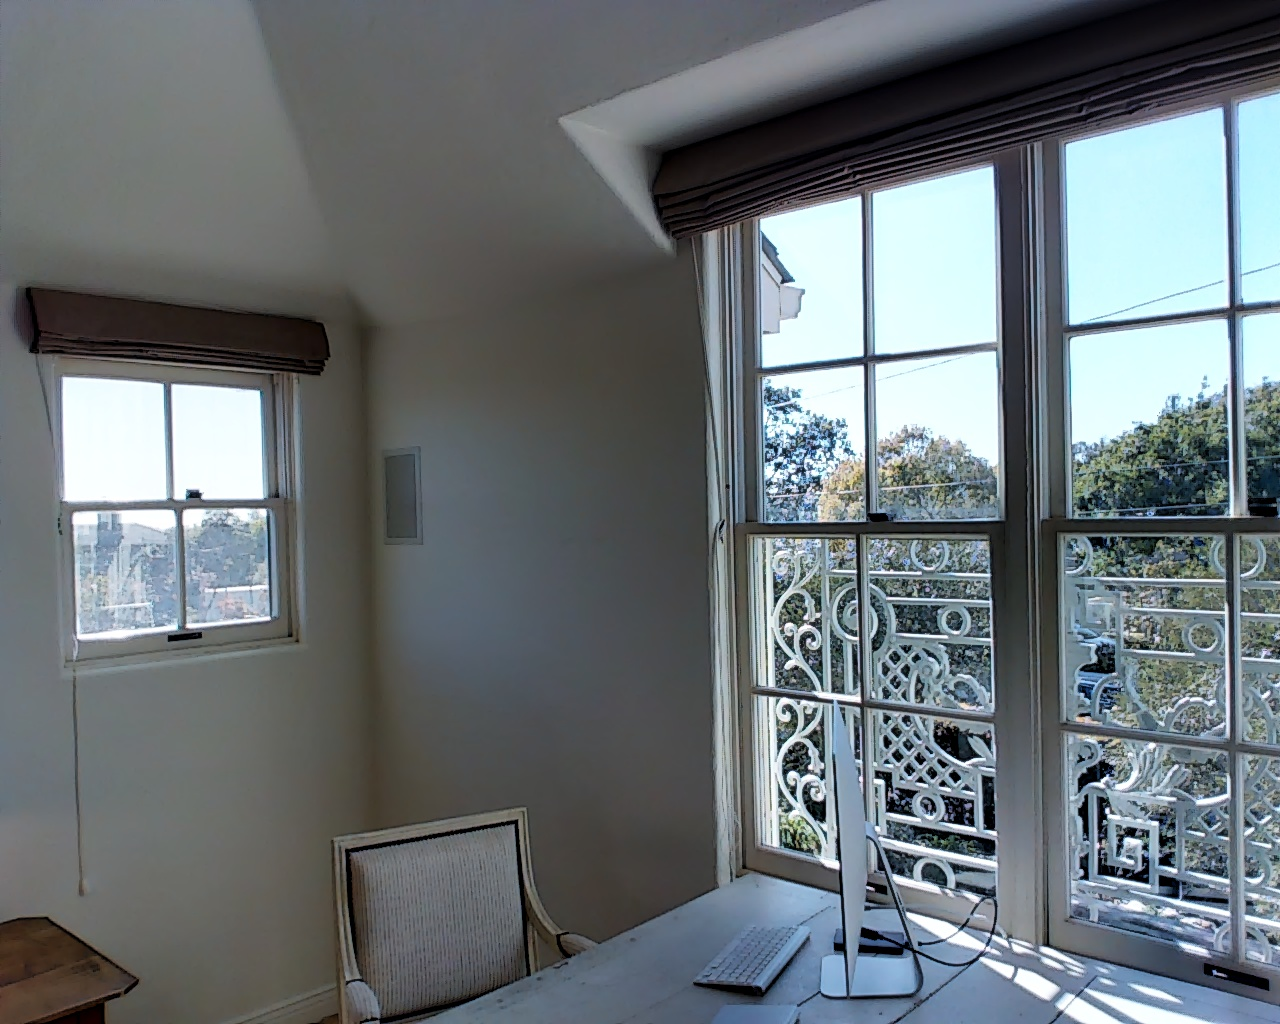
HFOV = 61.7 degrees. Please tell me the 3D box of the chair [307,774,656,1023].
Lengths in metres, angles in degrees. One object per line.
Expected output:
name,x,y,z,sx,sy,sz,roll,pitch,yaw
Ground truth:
chair,-0.370,1.160,2.440,0.590,0.920,0.600,-2,0,-30
